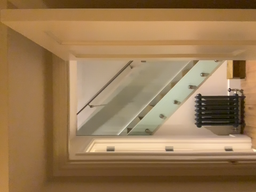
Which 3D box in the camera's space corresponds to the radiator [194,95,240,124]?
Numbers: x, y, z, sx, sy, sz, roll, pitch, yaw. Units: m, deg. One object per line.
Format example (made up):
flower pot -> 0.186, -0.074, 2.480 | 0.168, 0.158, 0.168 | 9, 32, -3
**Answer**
radiator -> 1.260, 0.190, 3.000 | 0.060, 0.620, 0.410 | -103, 13, -85
